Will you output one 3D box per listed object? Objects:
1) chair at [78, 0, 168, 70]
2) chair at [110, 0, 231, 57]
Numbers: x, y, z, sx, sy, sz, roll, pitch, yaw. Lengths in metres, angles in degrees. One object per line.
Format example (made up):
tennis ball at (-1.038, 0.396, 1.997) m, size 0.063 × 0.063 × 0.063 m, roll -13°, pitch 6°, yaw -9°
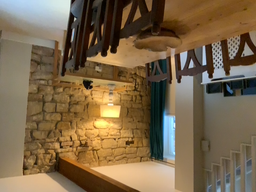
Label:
chair at (-0.040, -0.750, 1.590) m, size 0.490 × 0.990 × 0.460 m, roll 4°, pitch 175°, yaw -34°
chair at (0.220, -0.780, 1.190) m, size 0.460 × 0.980 × 0.460 m, roll 3°, pitch 175°, yaw -31°
